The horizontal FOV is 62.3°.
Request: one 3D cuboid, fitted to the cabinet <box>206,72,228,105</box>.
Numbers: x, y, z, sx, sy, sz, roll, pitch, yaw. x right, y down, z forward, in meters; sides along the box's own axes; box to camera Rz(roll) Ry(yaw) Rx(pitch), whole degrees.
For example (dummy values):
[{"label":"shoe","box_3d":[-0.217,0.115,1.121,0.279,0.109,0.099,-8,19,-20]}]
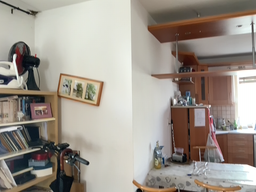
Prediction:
[{"label":"cabinet","box_3d":[2.150,-0.170,5.140,0.480,0.750,0.320,-1,-1,22]}]
